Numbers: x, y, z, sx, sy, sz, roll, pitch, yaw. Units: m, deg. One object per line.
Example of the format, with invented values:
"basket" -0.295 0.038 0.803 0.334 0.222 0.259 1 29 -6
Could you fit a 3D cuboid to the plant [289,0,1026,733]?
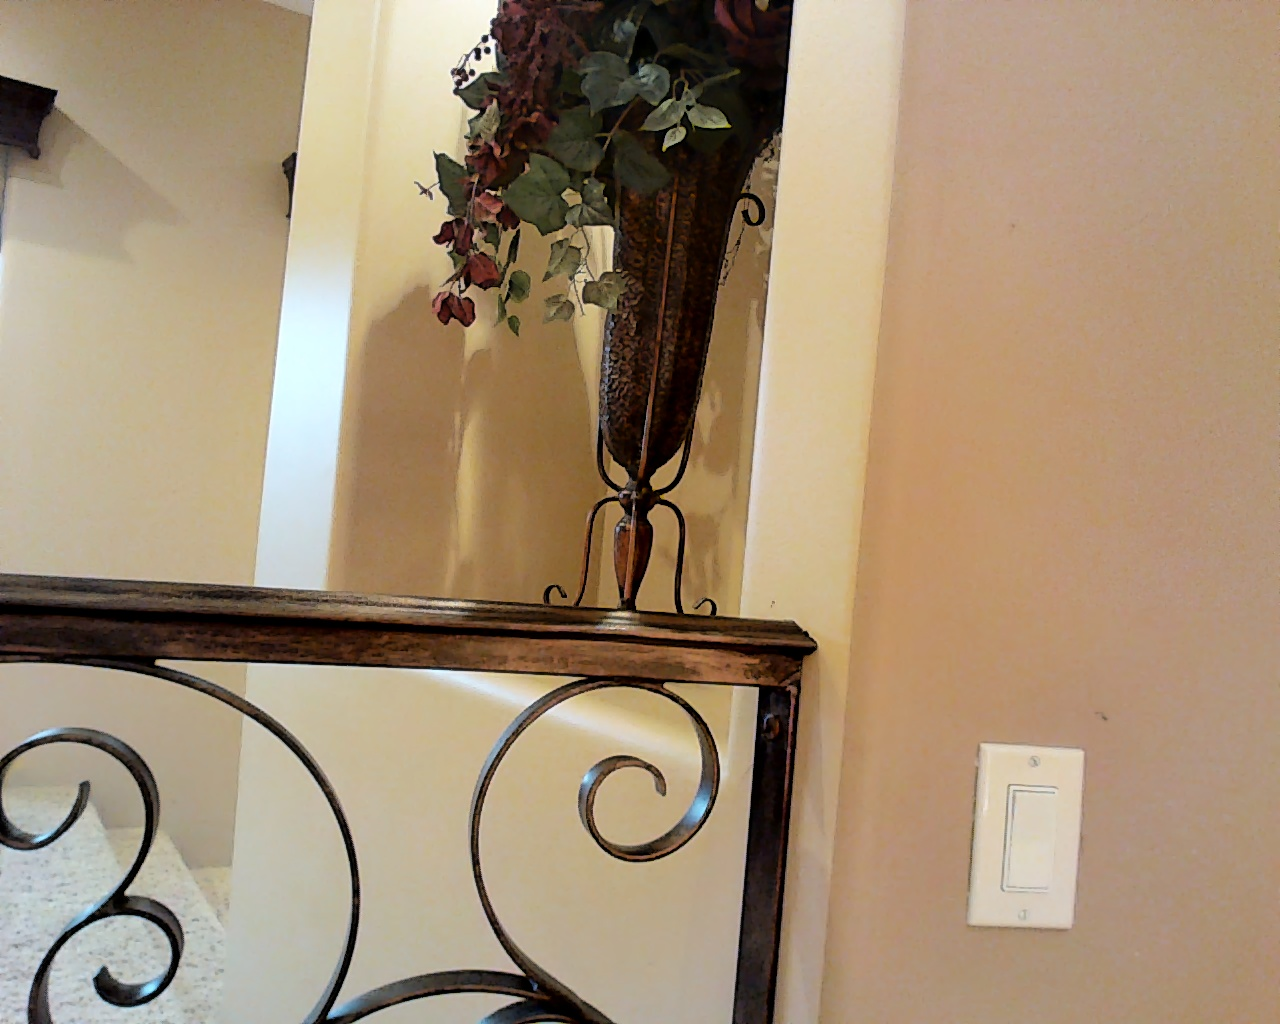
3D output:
"plant" -0.020 -0.510 1.270 0.450 1.380 0.790 6 -2 -33
